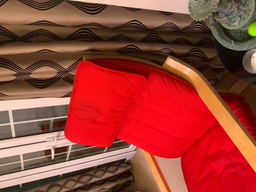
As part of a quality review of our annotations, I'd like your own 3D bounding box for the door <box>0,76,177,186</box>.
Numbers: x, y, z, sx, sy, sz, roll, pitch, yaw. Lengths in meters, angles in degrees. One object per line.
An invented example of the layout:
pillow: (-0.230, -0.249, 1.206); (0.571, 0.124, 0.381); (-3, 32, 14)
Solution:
door: (-0.690, 0.370, 1.740); (0.060, 1.990, 1.330); (65, 146, 32)
